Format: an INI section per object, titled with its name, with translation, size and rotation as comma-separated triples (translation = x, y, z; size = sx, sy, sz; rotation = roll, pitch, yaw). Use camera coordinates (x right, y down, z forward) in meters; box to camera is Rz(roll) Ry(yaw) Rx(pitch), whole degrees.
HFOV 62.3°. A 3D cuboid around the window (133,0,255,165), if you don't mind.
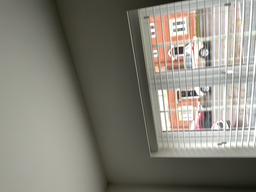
[window]
translation = 0.800, -0.110, 1.550
size = 0.250, 1.330, 1.340
rotation = -66, -31, -63
